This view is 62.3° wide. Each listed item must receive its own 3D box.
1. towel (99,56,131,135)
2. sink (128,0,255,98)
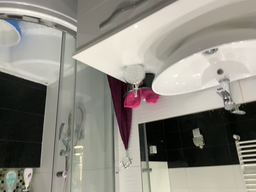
[{"bbox_3d":[-0.090,0.000,1.410,0.140,0.480,0.150,-16,157,34],"label":"towel"},{"bbox_3d":[0.340,-0.160,0.940,0.570,0.140,0.360,-16,157,34],"label":"sink"}]
